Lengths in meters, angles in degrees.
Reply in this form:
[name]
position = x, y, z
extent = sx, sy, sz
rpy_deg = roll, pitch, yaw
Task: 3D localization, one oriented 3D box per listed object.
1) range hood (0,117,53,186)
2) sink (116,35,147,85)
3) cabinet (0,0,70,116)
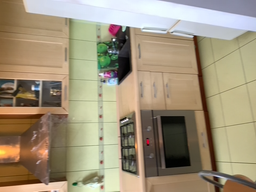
[range hood]
position = -1.150, 0.510, 1.990
extent = 0.500, 0.810, 0.550
rpy_deg = 146, 123, -68
[sink]
position = 0.020, -0.380, 2.380
extent = 0.470, 0.190, 0.400
rpy_deg = 143, 126, -67
[cabinet]
position = -1.000, -0.400, 2.200
extent = 0.320, 0.740, 1.180
rpy_deg = 143, 126, -67
